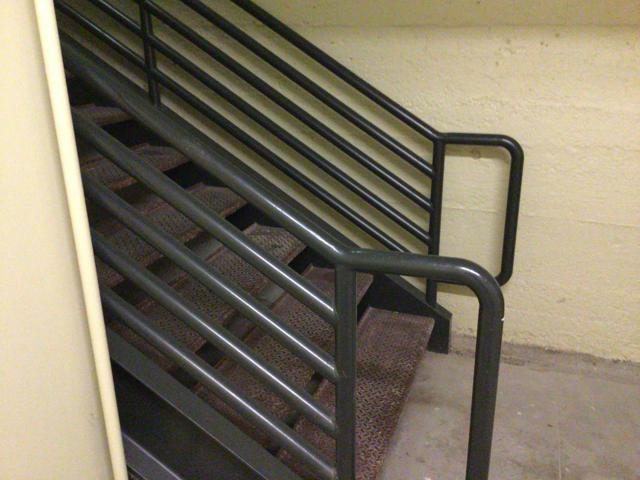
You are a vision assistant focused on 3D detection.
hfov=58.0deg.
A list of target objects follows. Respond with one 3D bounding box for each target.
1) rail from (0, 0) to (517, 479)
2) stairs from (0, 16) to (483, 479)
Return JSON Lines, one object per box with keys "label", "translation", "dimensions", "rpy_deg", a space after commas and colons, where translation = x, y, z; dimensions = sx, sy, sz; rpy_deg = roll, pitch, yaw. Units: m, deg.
{"label": "rail", "translation": [-0.620, -0.030, 1.460], "dimensions": [2.050, 1.410, 0.210], "rpy_deg": [7, 23, 25]}
{"label": "stairs", "translation": [-0.570, -0.050, 2.190], "dimensions": [1.950, 1.380, 1.580], "rpy_deg": [7, 23, 25]}
